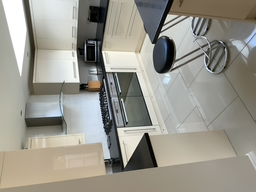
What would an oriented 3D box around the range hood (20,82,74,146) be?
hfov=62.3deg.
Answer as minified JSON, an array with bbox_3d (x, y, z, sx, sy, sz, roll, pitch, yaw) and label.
[{"bbox_3d":[-1.340,0.280,3.600,0.570,0.750,0.860,110,152,-49],"label":"range hood"}]

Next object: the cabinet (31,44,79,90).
[{"bbox_3d":[-1.430,-0.580,4.170,0.350,0.810,0.890,111,151,-50],"label":"cabinet"}]
